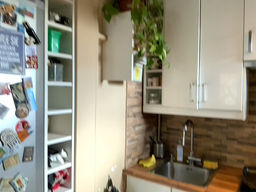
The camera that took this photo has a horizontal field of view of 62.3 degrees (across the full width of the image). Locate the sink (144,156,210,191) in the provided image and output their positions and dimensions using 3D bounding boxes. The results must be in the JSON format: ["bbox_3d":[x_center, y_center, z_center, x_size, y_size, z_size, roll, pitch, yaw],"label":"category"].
[{"bbox_3d":[0.430,0.690,1.820,0.410,0.170,0.440,3,2,34],"label":"sink"}]
